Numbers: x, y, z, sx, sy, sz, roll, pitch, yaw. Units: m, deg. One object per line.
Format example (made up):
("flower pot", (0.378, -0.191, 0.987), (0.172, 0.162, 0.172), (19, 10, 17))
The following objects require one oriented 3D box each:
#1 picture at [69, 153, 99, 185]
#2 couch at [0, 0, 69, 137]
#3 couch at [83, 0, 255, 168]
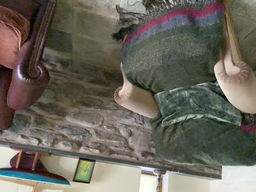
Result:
("picture", (-0.380, 0.630, 1.830), (0.170, 0.200, 0.060), (28, 156, -5))
("couch", (-0.940, -0.310, 1.330), (0.850, 0.840, 0.890), (17, 155, -21))
("couch", (0.410, -0.010, 1.540), (0.850, 0.850, 0.980), (-10, 151, 36))
